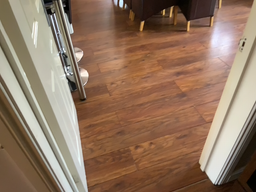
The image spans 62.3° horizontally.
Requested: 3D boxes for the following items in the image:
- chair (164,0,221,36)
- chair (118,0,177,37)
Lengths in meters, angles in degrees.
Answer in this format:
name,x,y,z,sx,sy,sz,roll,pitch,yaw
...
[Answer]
name,x,y,z,sx,sy,sz,roll,pitch,yaw
chair,0.810,-1.380,2.640,0.400,0.980,0.630,-17,45,-14
chair,0.230,-1.360,2.660,0.630,0.980,0.470,-15,44,-13
